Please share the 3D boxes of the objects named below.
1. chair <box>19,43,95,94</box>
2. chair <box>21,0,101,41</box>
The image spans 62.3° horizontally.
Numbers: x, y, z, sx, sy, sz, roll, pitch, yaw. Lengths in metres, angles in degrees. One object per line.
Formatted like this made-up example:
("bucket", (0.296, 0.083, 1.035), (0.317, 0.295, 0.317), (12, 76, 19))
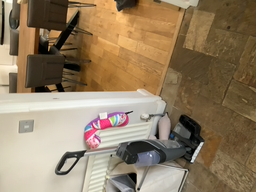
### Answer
("chair", (-1.100, -0.420, 3.260), (0.620, 0.910, 0.510), (42, 124, 43))
("chair", (-0.980, -1.180, 3.070), (0.620, 0.910, 0.470), (41, 123, 44))
